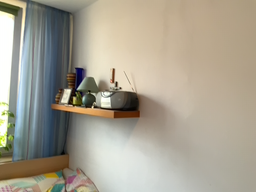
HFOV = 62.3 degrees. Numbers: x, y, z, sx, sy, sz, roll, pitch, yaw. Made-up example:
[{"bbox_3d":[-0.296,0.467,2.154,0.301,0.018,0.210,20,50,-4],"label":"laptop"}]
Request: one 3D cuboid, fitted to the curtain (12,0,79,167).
[{"bbox_3d":[-0.900,-0.170,2.370,0.600,1.760,0.170,3,0,-43],"label":"curtain"}]
